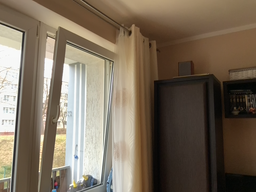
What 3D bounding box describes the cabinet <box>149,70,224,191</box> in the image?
[{"bbox_3d":[0.590,0.820,2.090,0.570,2.010,0.540,-4,-9,31],"label":"cabinet"}]
